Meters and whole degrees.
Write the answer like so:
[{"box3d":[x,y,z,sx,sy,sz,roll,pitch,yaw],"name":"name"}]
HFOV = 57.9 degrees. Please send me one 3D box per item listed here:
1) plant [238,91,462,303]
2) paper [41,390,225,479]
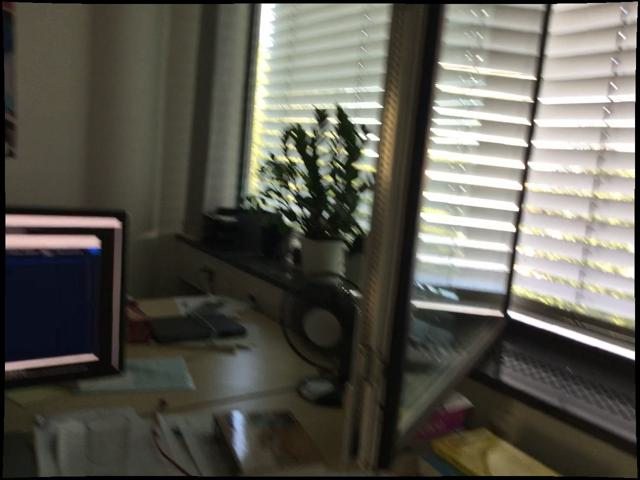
[{"box3d":[0.080,-0.210,2.350,0.530,0.701,0.740,-3,12,-33],"name":"plant"},{"box3d":[-0.400,0.430,1.190,0.300,0.050,0.370,-2,12,-28],"name":"paper"}]
